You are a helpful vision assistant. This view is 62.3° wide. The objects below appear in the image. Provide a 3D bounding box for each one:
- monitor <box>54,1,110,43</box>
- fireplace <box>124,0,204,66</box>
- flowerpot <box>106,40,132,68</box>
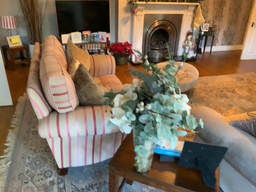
[{"bbox_3d":[-0.830,-1.450,4.110,1.110,0.710,0.050,-18,33,-35],"label":"monitor"},{"bbox_3d":[0.730,-1.410,4.690,1.470,1.230,0.680,-6,28,-15],"label":"fireplace"},{"bbox_3d":[-0.210,-0.910,4.530,0.470,0.450,0.540,-4,27,-11],"label":"flowerpot"}]
